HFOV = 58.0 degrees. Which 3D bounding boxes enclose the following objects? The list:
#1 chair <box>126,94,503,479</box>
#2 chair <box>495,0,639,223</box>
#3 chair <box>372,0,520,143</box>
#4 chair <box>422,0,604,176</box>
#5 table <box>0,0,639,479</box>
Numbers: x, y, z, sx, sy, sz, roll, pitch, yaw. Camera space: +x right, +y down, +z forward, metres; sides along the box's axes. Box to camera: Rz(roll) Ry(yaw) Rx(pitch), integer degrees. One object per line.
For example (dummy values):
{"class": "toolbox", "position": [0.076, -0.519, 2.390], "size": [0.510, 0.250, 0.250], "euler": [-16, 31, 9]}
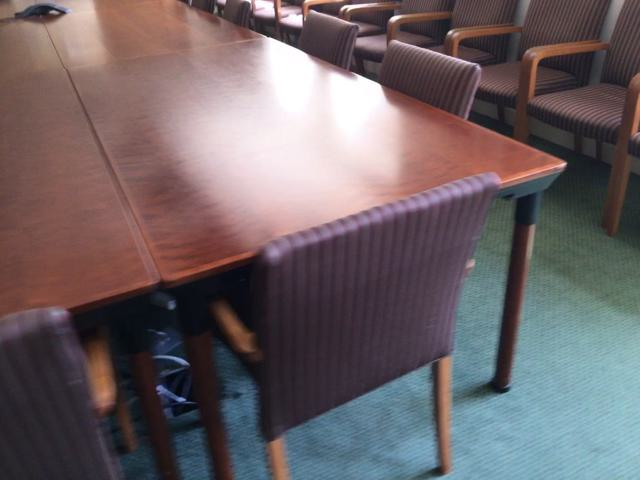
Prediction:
{"class": "chair", "position": [-0.020, 0.190, 1.350], "size": [0.550, 0.830, 0.540], "euler": [-19, 35, -21]}
{"class": "chair", "position": [1.210, -0.640, 2.510], "size": [0.550, 0.860, 0.550], "euler": [-19, 35, -21]}
{"class": "chair", "position": [0.710, -1.130, 3.400], "size": [0.550, 0.850, 0.620], "euler": [-19, 35, -21]}
{"class": "chair", "position": [0.950, -0.900, 2.980], "size": [0.560, 0.860, 0.600], "euler": [-19, 35, -21]}
{"class": "table", "position": [-1.440, -0.800, 3.230], "size": [2.210, 0.980, 5.330], "euler": [-19, 35, -21]}
